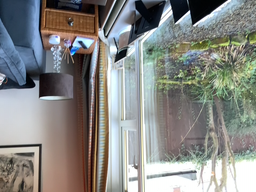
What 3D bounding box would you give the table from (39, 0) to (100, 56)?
[{"bbox_3d":[-0.500,-0.680,1.820,0.430,0.490,0.500,2,172,-18],"label":"table"}]
